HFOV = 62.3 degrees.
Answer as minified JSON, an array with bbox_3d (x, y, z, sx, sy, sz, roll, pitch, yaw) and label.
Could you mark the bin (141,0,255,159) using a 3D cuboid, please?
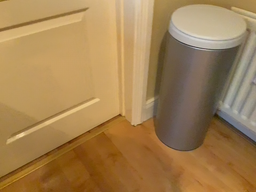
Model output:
[{"bbox_3d":[0.300,-0.070,1.040,0.310,0.680,0.320,-24,47,-25],"label":"bin"}]
